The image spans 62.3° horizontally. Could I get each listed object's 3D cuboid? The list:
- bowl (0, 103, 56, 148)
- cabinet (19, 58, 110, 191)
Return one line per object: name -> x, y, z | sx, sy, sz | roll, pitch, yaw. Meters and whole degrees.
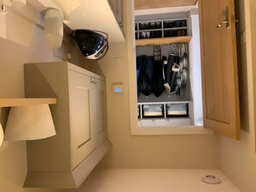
bowl -> -0.610, 0.170, 1.310 | 0.230, 0.240, 0.240 | -2, 180, 7
cabinet -> -0.490, 0.200, 2.080 | 0.370, 0.900, 1.280 | -2, 180, 6
